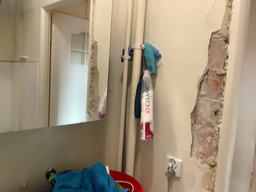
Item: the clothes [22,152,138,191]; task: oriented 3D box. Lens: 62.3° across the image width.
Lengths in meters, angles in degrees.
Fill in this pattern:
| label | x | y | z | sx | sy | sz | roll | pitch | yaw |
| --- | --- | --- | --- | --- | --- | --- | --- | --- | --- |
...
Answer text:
| label | x | y | z | sx | sy | sz | roll | pitch | yaw |
| --- | --- | --- | --- | --- | --- | --- | --- | --- | --- |
| clothes | -0.200 | 0.400 | 0.920 | 0.320 | 0.140 | 0.370 | 9 | 8 | 39 |
